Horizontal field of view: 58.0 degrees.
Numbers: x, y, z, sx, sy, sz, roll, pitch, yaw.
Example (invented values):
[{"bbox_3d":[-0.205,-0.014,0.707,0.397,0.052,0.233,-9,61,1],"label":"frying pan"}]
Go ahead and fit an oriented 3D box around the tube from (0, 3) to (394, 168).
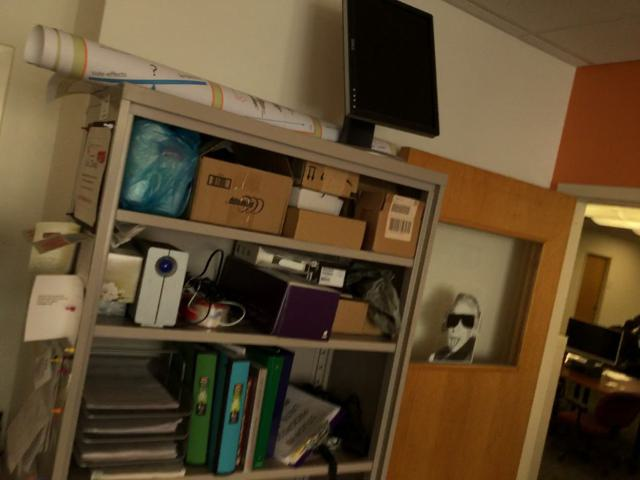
[{"bbox_3d":[-0.270,-0.340,1.470,0.930,0.170,0.290,6,3,-33],"label":"tube"}]
